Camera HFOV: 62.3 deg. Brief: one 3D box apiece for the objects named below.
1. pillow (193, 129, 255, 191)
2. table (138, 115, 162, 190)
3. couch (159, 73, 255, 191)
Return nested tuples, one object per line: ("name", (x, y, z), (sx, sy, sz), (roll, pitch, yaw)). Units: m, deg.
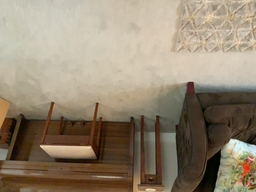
("pillow", (0.960, 0.620, 1.840), (0.570, 0.460, 0.220), (-17, 149, -13))
("table", (0.230, 0.590, 2.280), (0.220, 0.740, 0.220), (2, 147, 2))
("couch", (1.520, 0.530, 2.000), (2.280, 0.860, 1.200), (2, 147, 2))
